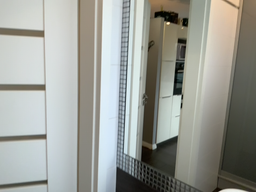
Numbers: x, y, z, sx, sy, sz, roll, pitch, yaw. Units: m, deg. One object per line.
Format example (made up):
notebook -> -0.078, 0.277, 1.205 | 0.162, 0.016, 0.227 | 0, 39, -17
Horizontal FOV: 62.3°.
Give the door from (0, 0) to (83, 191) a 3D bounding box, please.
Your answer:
door -> -0.680, 0.250, 1.140 | 0.840, 2.040, 0.060 | 0, 10, -17
